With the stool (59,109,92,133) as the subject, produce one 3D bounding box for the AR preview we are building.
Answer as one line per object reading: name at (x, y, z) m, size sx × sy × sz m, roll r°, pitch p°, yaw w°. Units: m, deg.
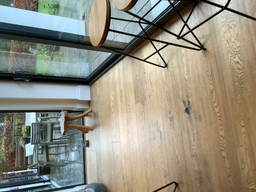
stool at (-0.900, 0.430, 3.620) m, size 0.350 × 0.450 × 0.350 m, roll -25°, pitch 67°, yaw 58°
